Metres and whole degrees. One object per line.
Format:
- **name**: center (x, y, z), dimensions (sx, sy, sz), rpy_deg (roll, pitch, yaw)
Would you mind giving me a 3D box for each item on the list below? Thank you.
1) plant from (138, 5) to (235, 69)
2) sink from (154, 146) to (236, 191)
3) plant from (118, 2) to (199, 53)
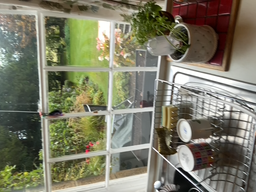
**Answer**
- **plant**: center (0.190, -0.190, 0.720), dimensions (0.160, 0.250, 0.170), rpy_deg (-146, 58, -61)
- **sink**: center (0.300, 0.420, 0.870), dimensions (0.520, 0.120, 0.180), rpy_deg (-146, 58, -61)
- **plant**: center (0.120, -0.280, 0.880), dimensions (0.150, 0.270, 0.160), rpy_deg (-135, 48, -57)
